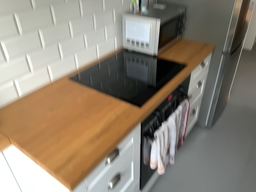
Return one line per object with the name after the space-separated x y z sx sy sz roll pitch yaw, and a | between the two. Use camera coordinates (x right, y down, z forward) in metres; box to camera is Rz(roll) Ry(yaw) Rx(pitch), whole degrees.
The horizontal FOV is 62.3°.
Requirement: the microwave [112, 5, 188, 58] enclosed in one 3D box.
0.180 -0.530 1.660 0.360 0.240 0.500 23 40 31 | microwave

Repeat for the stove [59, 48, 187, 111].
-0.010 -0.150 1.310 0.560 0.010 0.580 20 39 29 | stove
